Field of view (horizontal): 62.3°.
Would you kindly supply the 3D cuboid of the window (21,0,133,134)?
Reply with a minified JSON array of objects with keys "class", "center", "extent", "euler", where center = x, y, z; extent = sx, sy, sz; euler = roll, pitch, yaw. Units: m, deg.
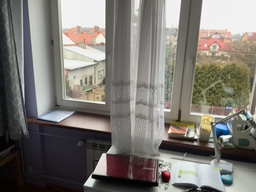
[{"class":"window","center":[-0.470,-0.490,2.000],"extent":[0.950,1.540,0.320],"euler":[7,16,17]}]
